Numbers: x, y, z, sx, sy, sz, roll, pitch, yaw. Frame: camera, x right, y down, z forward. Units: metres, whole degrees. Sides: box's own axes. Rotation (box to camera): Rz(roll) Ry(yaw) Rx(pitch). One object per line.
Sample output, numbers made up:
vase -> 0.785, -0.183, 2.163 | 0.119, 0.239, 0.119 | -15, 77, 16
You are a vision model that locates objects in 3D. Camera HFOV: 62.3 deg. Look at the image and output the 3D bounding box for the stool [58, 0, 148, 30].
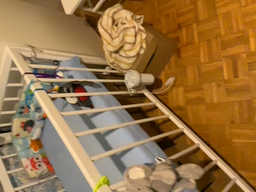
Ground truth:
stool -> -0.170, -0.670, 1.310 | 0.310, 0.450, 0.310 | -36, 70, 38
